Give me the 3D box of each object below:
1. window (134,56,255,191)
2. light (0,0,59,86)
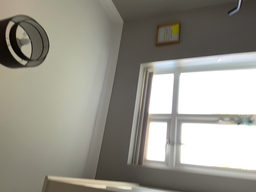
[{"bbox_3d":[0.780,0.220,2.180,0.110,1.330,1.300,47,-133,-58],"label":"window"},{"bbox_3d":[-0.690,-0.290,1.210,0.360,0.370,0.360,32,-120,-60],"label":"light"}]
